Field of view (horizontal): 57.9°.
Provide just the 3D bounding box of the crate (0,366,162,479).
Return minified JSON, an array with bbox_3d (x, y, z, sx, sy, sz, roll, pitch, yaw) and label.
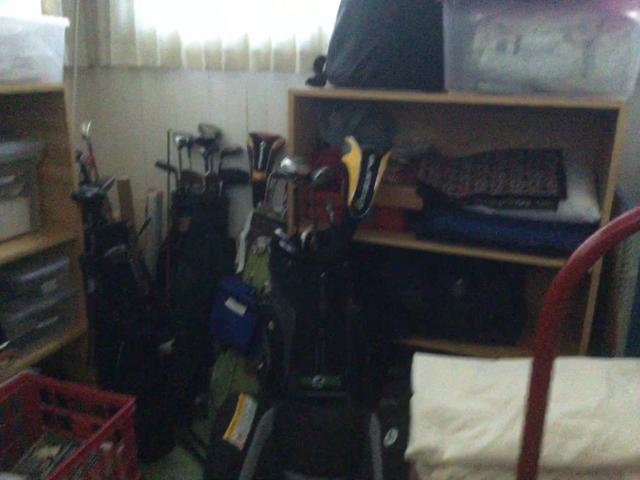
[{"bbox_3d":[-0.660,0.550,1.340,0.390,0.280,0.420,7,18,16],"label":"crate"}]
